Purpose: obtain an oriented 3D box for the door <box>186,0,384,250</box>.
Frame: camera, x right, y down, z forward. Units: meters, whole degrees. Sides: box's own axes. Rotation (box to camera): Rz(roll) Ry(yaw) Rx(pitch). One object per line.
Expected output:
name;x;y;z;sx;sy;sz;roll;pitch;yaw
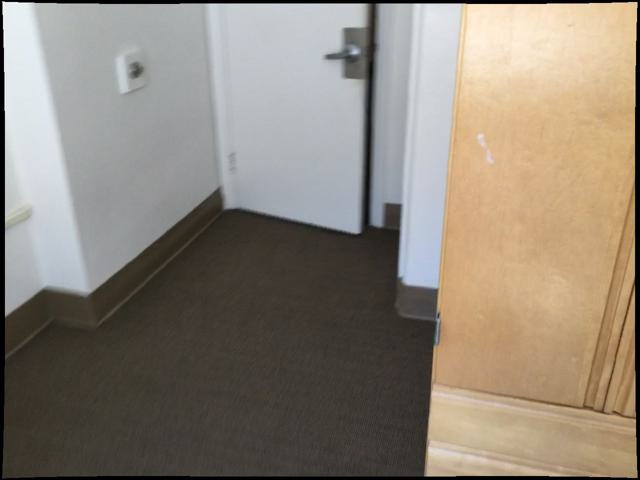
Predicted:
door;-0.180;-0.912;2.890;0.958;1.844;0.240;11;29;25
